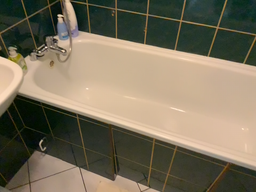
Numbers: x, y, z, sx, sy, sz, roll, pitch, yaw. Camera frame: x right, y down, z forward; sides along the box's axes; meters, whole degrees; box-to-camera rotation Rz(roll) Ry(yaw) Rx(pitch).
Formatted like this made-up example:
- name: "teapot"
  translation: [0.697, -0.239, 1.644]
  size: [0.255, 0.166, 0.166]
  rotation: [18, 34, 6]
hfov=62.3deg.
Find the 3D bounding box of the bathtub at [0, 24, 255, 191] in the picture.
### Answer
- name: "bathtub"
  translation: [0.210, 0.140, 1.300]
  size: [1.690, 0.580, 0.700]
  rotation: [17, 45, 14]
